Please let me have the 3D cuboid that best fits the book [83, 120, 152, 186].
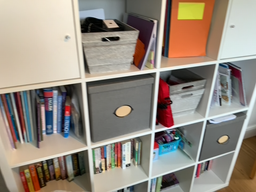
[{"bbox_3d":[-0.070,0.340,1.300,0.370,0.290,0.170,-7,29,-15],"label":"book"}]
